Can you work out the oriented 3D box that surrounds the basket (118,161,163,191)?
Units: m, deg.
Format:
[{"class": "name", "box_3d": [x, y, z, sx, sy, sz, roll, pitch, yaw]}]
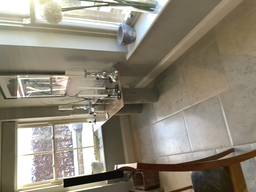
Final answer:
[{"class": "basket", "box_3d": [0.210, 1.540, 3.250, 0.690, 0.400, 0.960, 138, 126, -62]}]
